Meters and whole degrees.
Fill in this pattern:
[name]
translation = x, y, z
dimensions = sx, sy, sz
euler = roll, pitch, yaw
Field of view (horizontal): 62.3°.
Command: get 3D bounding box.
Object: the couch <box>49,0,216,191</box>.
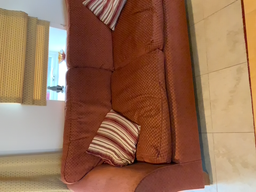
[couch]
translation = -0.080, -0.270, 1.930
dimensions = 1.060, 0.920, 2.160
euler = -21, 68, 56
